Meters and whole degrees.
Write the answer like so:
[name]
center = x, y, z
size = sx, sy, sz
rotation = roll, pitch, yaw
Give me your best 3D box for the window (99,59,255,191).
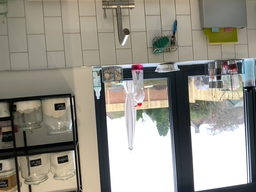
[window]
center = 0.470, 0.270, 1.690
size = 1.310, 1.060, 0.100
rotation = -4, -178, -10
